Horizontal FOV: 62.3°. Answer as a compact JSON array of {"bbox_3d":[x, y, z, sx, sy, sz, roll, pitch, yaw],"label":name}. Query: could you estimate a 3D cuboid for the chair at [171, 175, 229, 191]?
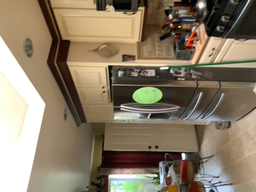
[{"bbox_3d":[1.130,1.540,3.360,0.460,0.760,0.440,94,177,-58],"label":"chair"}]
